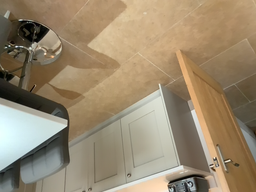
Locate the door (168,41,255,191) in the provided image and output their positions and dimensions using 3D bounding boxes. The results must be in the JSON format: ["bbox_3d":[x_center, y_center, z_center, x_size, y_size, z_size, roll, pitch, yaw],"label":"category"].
[{"bbox_3d":[0.800,0.570,1.560,0.120,2.190,0.790,-32,139,31],"label":"door"}]
